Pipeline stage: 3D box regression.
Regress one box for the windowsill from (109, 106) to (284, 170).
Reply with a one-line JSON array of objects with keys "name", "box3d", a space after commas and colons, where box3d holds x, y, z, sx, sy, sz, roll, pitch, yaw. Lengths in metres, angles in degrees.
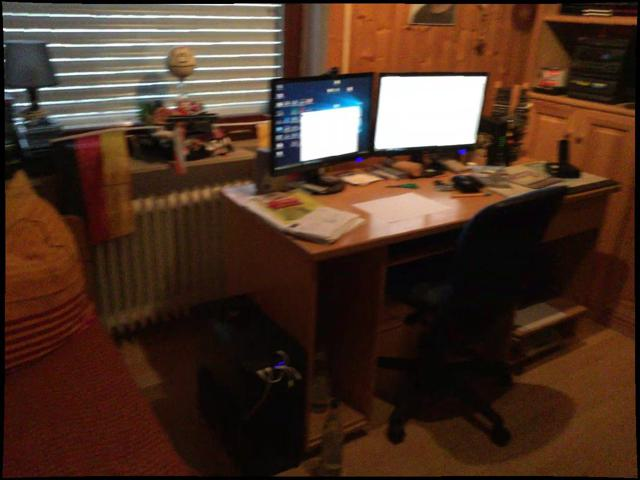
[{"name": "windowsill", "box3d": [-0.509, -0.450, 2.470, 0.680, 0.150, 0.250, -13, 29, -32]}]
